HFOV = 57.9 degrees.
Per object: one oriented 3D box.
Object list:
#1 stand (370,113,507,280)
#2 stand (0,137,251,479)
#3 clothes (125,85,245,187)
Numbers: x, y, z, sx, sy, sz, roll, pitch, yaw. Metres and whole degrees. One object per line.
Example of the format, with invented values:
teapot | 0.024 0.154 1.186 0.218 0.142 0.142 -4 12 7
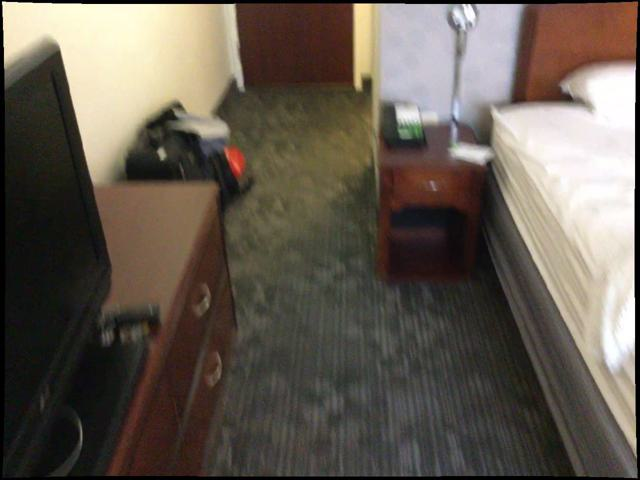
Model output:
stand | 0.460 -0.190 2.450 0.460 0.550 0.450 0 34 2
stand | -0.589 0.390 1.430 0.579 0.680 1.600 0 34 2
clothes | -0.589 -0.490 2.650 0.390 0.250 0.570 0 34 2
